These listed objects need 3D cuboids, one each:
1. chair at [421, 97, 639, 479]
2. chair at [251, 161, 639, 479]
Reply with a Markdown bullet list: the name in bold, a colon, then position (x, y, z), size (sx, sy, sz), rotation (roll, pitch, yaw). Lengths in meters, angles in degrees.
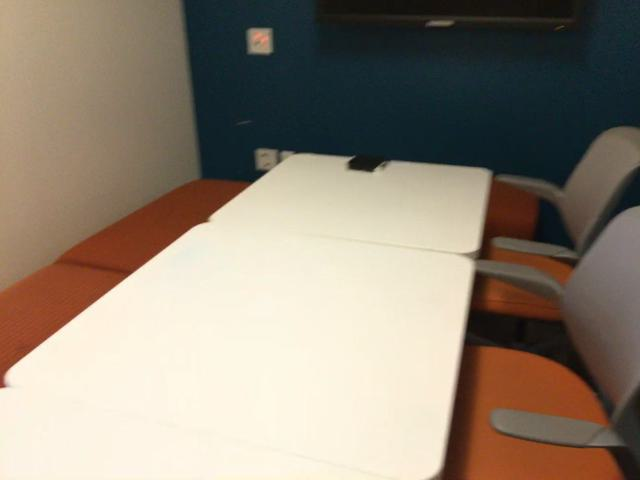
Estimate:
- **chair**: position (0.670, 0.110, 1.810), size (0.550, 0.970, 0.620), rotation (7, 25, 17)
- **chair**: position (0.350, 0.370, 1.300), size (0.770, 0.900, 0.610), rotation (7, 25, 17)
